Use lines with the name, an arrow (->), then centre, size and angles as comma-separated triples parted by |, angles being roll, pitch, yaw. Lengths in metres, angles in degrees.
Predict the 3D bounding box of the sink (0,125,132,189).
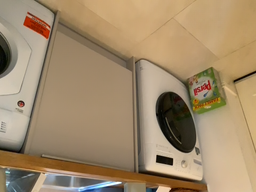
sink -> -0.370, 0.400, 1.230 | 0.560, 0.180, 0.540 | 24, 142, -36
